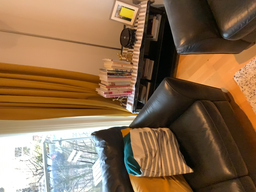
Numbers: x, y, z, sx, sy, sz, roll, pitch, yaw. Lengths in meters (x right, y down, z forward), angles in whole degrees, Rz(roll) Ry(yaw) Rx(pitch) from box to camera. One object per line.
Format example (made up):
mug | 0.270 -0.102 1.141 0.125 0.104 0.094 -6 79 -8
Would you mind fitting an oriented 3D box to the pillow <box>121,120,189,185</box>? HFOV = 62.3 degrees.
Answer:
pillow | 0.190 0.410 1.600 0.240 0.320 0.380 -51 48 40
